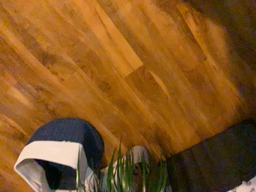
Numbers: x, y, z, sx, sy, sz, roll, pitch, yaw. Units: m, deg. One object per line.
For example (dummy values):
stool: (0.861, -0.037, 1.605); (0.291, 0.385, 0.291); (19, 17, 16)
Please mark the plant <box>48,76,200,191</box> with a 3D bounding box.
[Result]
plant: (-0.010, 0.350, 0.980); (0.430, 0.760, 0.470); (-40, 113, 18)
